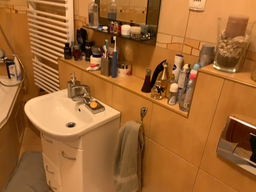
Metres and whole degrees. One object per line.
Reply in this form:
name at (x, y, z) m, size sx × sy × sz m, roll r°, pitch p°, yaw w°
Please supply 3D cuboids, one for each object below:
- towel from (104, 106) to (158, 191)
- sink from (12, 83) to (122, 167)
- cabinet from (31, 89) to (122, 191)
towel at (0.000, 0.420, 1.270) m, size 0.200 × 0.670 × 0.180 m, roll 26°, pitch 33°, yaw 36°
sink at (-0.380, 0.130, 1.330) m, size 0.540 × 0.170 × 0.420 m, roll 26°, pitch 33°, yaw 36°
cabinet at (-0.370, 0.440, 1.520) m, size 0.540 × 0.800 × 0.310 m, roll 26°, pitch 33°, yaw 36°
